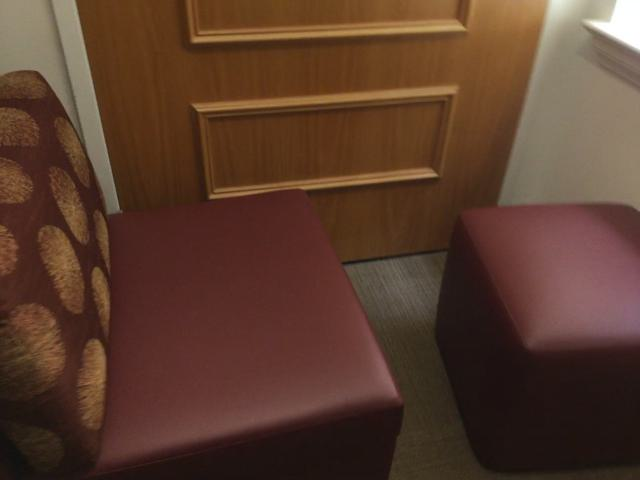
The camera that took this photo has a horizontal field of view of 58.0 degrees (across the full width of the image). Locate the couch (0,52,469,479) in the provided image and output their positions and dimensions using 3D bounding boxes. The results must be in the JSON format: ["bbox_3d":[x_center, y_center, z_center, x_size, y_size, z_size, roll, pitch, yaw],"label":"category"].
[{"bbox_3d":[-0.290,0.100,1.140,0.790,0.700,0.720,-5,36,-12],"label":"couch"}]

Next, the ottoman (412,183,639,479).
[{"bbox_3d":[0.600,0.210,1.430,0.560,0.480,0.560,-1,35,-7],"label":"ottoman"}]
